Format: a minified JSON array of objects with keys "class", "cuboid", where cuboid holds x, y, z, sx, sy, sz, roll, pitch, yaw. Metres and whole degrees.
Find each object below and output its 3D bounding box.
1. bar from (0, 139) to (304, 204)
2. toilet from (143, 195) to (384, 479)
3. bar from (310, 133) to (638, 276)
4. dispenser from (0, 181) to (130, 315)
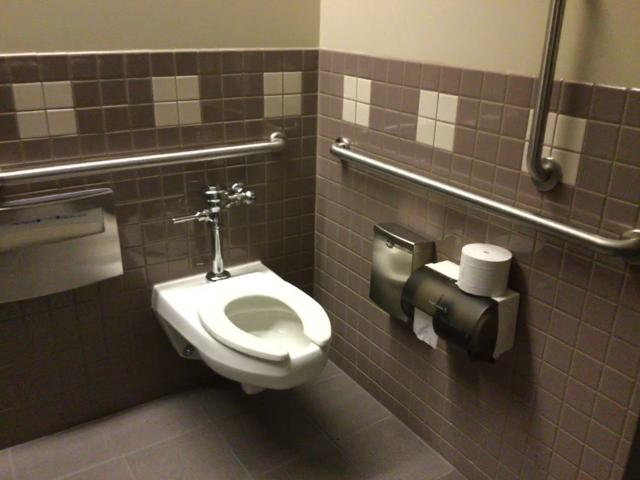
[{"class":"bar","cuboid":[-0.480,-0.230,1.830,0.930,0.110,0.090,-9,22,-29]},{"class":"toilet","cuboid":[-0.210,0.260,1.850,0.500,0.620,0.640,-9,22,-29]},{"class":"bar","cuboid":[0.300,-0.160,1.630,0.080,0.100,1.180,-9,22,-29]},{"class":"dispenser","cuboid":[-0.790,0.020,1.720,0.400,0.350,0.060,-9,22,-29]}]
